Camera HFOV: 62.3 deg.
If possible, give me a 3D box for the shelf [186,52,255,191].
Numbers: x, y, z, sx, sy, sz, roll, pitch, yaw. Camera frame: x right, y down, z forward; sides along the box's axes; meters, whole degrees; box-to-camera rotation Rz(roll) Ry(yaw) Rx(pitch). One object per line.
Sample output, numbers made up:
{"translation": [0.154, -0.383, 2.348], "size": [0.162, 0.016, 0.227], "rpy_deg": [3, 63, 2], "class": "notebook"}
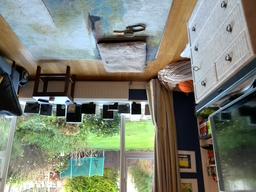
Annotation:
{"translation": [1.150, 0.560, 2.820], "size": [0.290, 2.060, 0.900], "rpy_deg": [0, 162, -2], "class": "shelf"}
